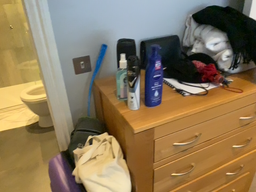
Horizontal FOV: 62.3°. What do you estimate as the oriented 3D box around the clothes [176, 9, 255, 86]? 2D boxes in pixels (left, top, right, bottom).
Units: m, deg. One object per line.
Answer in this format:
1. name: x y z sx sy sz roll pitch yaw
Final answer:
1. clothes: 0.510 -0.280 1.090 0.290 0.250 0.440 -14 31 -21
